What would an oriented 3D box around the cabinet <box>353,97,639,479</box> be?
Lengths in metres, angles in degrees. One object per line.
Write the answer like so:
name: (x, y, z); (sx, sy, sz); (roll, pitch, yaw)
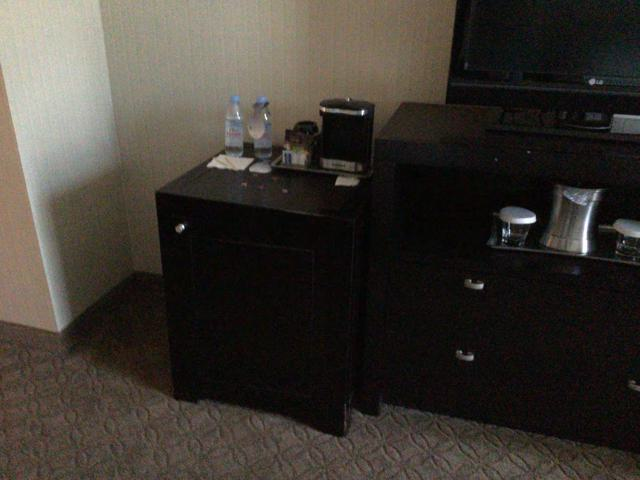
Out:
cabinet: (0.790, 0.120, 1.790); (1.260, 0.960, 0.570); (7, 25, 17)
